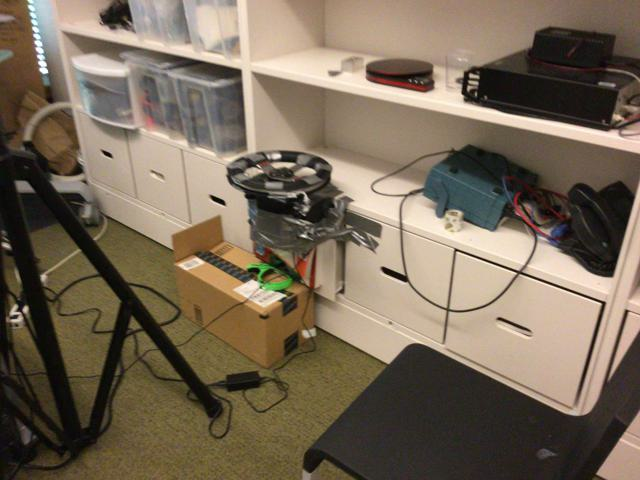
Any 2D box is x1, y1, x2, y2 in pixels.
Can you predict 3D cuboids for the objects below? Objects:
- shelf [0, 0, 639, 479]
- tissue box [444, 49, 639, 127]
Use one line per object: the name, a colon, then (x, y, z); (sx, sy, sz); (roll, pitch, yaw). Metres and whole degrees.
shelf: (0.280, -0.680, 1.360); (3.950, 2.490, 0.710); (21, 34, 39)
tissue box: (0.560, -0.370, 1.350); (0.400, 0.080, 0.350); (20, 34, 38)
